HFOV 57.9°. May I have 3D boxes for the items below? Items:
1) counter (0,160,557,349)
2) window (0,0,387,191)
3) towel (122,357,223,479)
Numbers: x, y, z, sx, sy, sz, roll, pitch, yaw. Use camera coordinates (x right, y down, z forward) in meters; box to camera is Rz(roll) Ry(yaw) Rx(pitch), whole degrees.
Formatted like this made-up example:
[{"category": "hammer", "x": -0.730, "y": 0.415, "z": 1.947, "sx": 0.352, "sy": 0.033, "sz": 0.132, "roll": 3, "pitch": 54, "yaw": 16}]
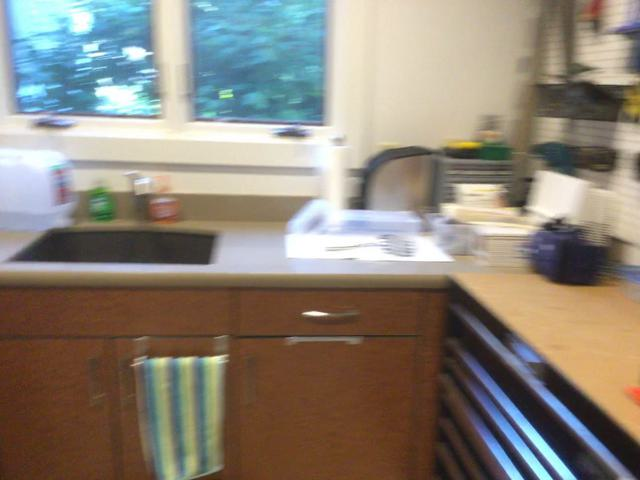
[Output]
[{"category": "counter", "x": -0.630, "y": -0.020, "z": 1.560, "sx": 2.180, "sy": 0.250, "sz": 0.910, "roll": 1, "pitch": 15, "yaw": -9}, {"category": "window", "x": -0.420, "y": -0.820, "z": 1.880, "sx": 1.270, "sy": 1.270, "sz": 0.170, "roll": 1, "pitch": 15, "yaw": -9}, {"category": "towel", "x": -0.390, "y": 0.500, "z": 1.550, "sx": 0.250, "sy": 0.370, "sz": 0.070, "roll": 1, "pitch": 15, "yaw": -9}]
